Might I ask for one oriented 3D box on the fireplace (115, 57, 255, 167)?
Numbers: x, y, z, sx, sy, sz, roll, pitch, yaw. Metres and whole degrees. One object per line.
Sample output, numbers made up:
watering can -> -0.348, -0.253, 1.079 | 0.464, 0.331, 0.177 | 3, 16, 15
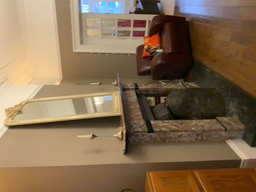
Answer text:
fireplace -> 0.490, 0.030, 2.590 | 1.630, 1.210, 0.610 | -104, 15, -65

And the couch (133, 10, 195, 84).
couch -> 0.580, -0.840, 3.860 | 0.920, 0.810, 0.960 | 107, 162, -69
